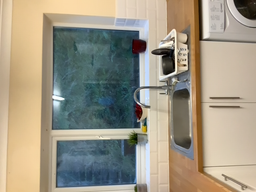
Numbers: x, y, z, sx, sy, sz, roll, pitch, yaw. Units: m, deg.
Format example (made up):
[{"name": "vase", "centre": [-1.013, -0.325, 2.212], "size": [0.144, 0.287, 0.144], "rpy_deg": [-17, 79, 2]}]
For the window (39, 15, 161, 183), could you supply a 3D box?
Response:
[{"name": "window", "centre": [-0.260, 0.020, 2.180], "size": [0.120, 1.190, 1.610], "rpy_deg": [164, 106, -81]}]
